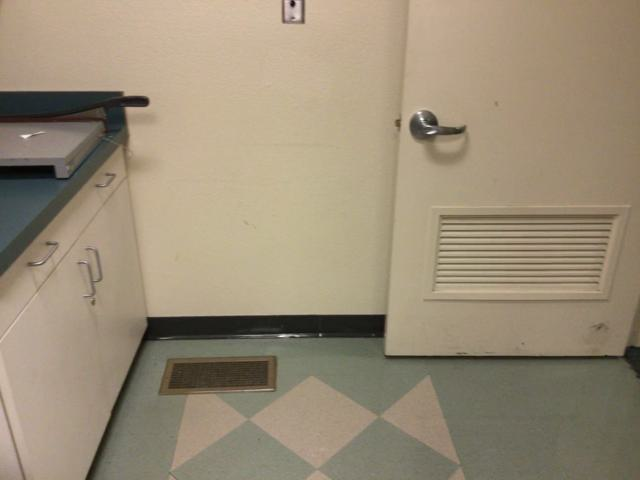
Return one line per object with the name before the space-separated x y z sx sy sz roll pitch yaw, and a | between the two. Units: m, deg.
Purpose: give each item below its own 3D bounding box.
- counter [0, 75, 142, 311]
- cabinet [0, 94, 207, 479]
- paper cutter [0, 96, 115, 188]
counter | -0.890 -0.180 1.430 0.610 0.230 1.040 -4 26 -1
cabinet | -0.840 0.190 1.610 0.780 0.920 1.030 -4 26 -1
paper cutter | -0.840 -0.260 1.530 0.460 0.130 0.380 -4 26 -1
